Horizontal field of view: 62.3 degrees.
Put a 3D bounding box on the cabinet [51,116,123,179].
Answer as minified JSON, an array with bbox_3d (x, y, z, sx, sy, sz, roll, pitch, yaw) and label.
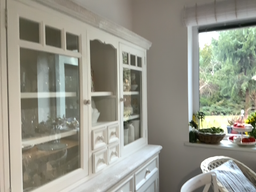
[{"bbox_3d":[-0.300,0.360,1.640,0.350,0.340,0.420,0,2,28],"label":"cabinet"}]

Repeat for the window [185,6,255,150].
[{"bbox_3d":[1.620,-0.190,2.320,1.880,1.510,0.380,0,2,25],"label":"window"}]

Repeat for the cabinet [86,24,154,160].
[{"bbox_3d":[-0.040,-0.040,2.110,0.380,1.110,0.670,0,2,28],"label":"cabinet"}]

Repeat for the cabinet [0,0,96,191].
[{"bbox_3d":[-0.530,-0.010,1.170,0.380,1.110,0.620,0,2,28],"label":"cabinet"}]
